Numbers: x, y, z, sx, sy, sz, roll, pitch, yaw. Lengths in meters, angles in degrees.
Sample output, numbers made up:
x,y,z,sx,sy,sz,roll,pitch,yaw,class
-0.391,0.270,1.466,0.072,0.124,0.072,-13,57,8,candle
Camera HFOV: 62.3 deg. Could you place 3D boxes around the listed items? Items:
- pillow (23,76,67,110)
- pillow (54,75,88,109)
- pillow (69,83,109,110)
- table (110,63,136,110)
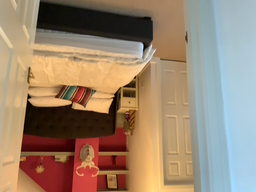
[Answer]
x,y,z,sx,sy,sz,roll,pitch,yaw,class
-1.410,-0.040,3.690,0.640,0.480,0.290,3,-146,-11,pillow
-0.950,-0.080,3.570,0.240,0.380,0.490,30,-145,32,pillow
-0.730,0.010,3.920,0.690,0.430,0.240,1,-149,-16,pillow
-0.110,-0.160,4.210,0.370,0.790,0.560,4,167,-14,table
